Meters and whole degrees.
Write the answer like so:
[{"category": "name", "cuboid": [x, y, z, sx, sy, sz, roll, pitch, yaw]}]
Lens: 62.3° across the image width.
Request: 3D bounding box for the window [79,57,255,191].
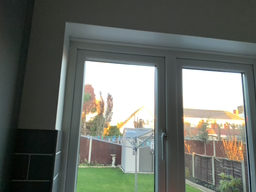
[{"category": "window", "cuboid": [0.250, 0.260, 1.210, 1.000, 0.880, 0.100, 4, -12, -11]}]
